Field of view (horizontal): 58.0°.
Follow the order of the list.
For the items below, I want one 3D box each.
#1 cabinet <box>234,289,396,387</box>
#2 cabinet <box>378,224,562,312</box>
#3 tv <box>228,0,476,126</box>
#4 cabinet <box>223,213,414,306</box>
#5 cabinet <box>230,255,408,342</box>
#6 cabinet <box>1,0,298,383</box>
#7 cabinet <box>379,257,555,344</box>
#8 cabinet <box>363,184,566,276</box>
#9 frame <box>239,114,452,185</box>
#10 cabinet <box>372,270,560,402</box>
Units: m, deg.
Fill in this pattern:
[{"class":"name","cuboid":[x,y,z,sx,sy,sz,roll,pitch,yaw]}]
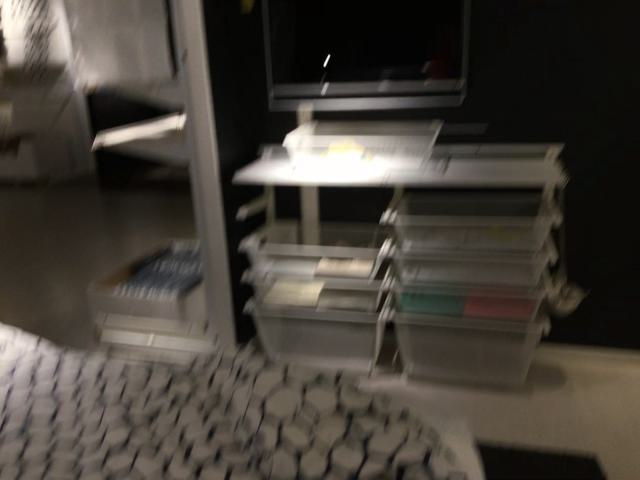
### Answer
[{"class":"cabinet","cuboid":[-0.020,0.420,2.540,0.660,0.360,0.160,0,18,19]},{"class":"cabinet","cuboid":[0.600,0.100,2.320,0.660,0.240,0.310,0,18,19]},{"class":"tv","cuboid":[0.120,-0.840,2.300,0.940,0.680,0.180,0,18,19]},{"class":"cabinet","cuboid":[0.010,0.070,2.530,0.720,0.260,0.410,0,18,19]},{"class":"cabinet","cuboid":[0.000,0.240,2.500,0.710,0.290,0.220,0,18,19]},{"class":"cabinet","cuboid":[-0.740,-0.670,2.480,0.900,2.570,0.450,0,18,19]},{"class":"cabinet","cuboid":[0.600,0.230,2.360,0.650,0.230,0.300,0,18,19]},{"class":"cabinet","cuboid":[0.580,-0.050,2.320,0.720,0.240,0.410,0,18,19]},{"class":"frame","cuboid":[0.120,-0.370,2.340,0.760,0.170,0.440,0,18,19]},{"class":"cabinet","cuboid":[0.610,0.380,2.410,0.700,0.410,0.310,0,18,19]}]
